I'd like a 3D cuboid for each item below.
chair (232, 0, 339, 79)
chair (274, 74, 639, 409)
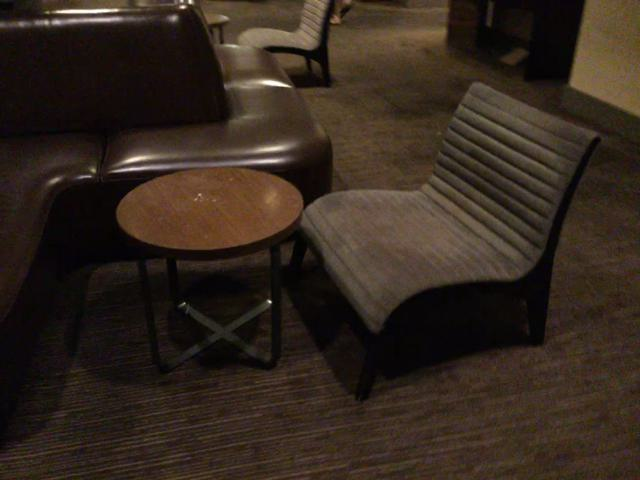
[{"bbox_3d":[-0.300,-1.800,4.580,0.710,0.800,0.710,-5,36,-13],"label":"chair"},{"bbox_3d":[0.350,-0.070,1.940,0.800,0.720,0.780,-10,32,-19],"label":"chair"}]
